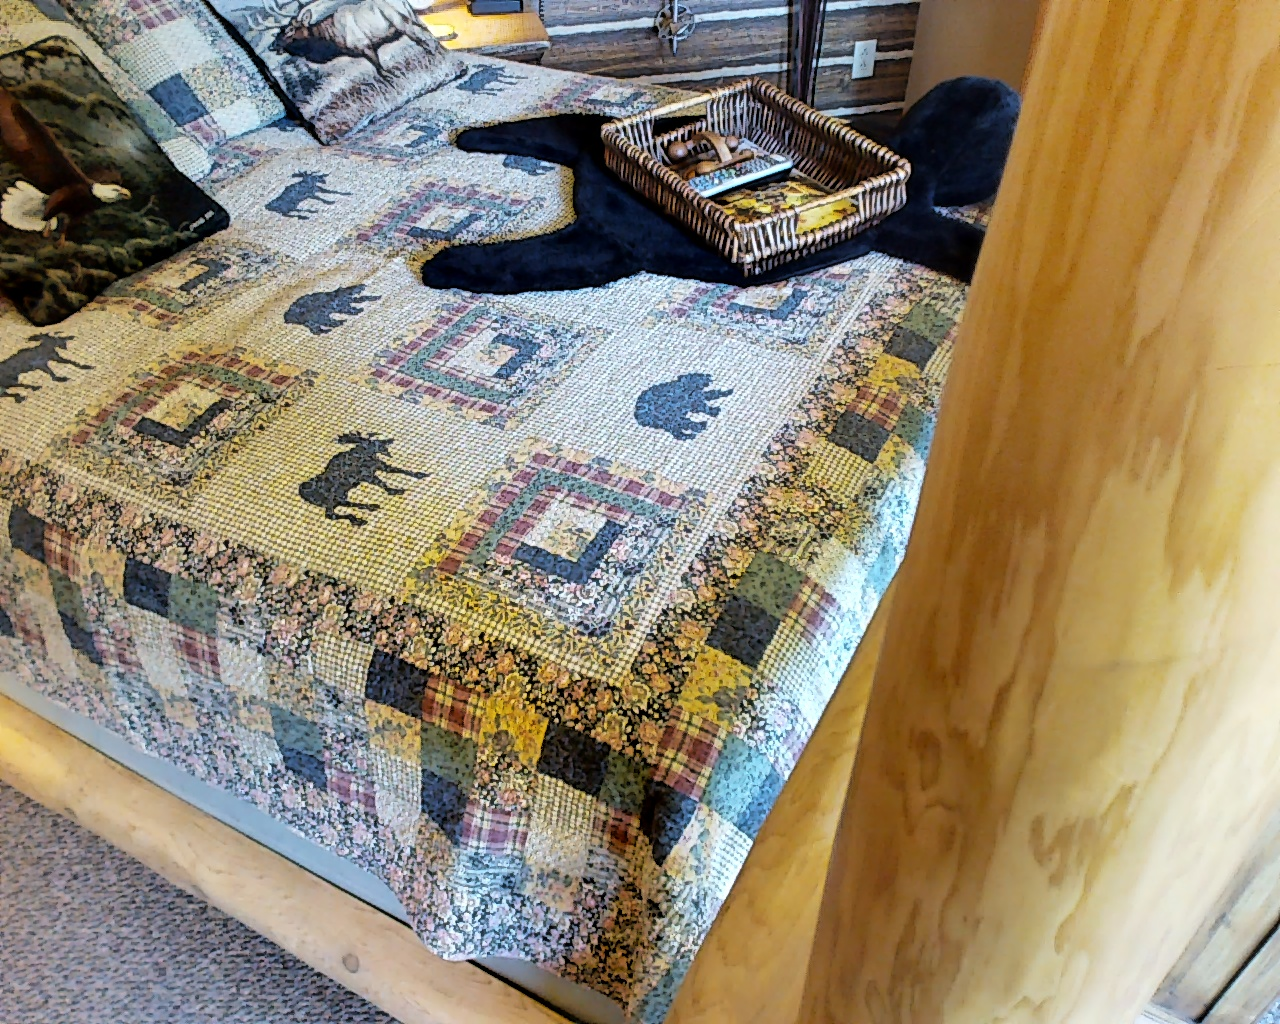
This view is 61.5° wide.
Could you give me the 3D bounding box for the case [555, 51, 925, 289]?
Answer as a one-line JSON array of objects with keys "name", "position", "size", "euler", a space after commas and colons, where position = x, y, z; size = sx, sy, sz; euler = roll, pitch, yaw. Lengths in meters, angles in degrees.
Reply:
[{"name": "case", "position": [0.140, -0.560, 1.700], "size": [0.350, 0.110, 0.490], "euler": [-23, 47, -22]}]
